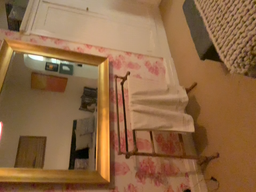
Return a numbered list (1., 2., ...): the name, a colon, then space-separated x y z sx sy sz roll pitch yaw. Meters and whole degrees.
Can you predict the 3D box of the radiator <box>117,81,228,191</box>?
1. radiator: 0.350 0.450 1.920 0.280 0.830 1.100 122 150 -54
